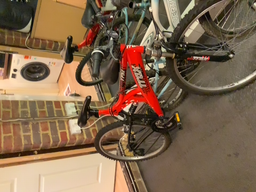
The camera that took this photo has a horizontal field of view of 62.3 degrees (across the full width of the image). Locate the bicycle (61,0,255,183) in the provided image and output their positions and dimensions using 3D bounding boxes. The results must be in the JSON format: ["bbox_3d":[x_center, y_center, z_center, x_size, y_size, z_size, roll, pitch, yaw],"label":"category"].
[{"bbox_3d":[0.190,-0.020,1.400,1.750,0.740,0.420,-53,48,40],"label":"bicycle"}]
